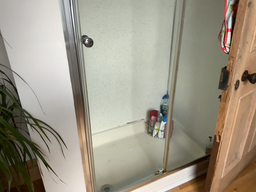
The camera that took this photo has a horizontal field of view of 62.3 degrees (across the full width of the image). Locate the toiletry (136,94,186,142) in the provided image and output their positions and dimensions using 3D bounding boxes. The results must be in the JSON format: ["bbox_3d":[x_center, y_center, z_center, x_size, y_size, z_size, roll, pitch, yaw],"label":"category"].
[{"bbox_3d":[0.290,0.190,1.880,0.380,0.290,0.210,10,30,17],"label":"toiletry"}]
